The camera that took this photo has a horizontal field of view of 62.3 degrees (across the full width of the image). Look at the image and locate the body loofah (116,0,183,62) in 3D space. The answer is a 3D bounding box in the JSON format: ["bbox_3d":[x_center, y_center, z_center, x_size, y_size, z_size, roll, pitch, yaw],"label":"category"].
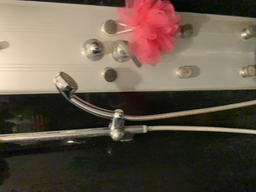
[{"bbox_3d":[0.070,-0.260,0.760,0.140,0.200,0.260,-158,68,-74],"label":"body loofah"}]
